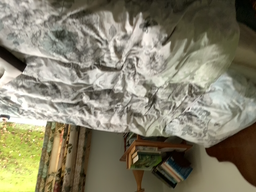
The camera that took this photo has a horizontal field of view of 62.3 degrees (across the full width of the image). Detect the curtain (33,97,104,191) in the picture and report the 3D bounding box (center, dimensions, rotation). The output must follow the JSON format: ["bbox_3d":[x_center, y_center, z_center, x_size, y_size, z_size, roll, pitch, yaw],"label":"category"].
[{"bbox_3d":[-0.520,1.030,1.750,0.560,2.260,0.190,7,145,-14],"label":"curtain"}]
